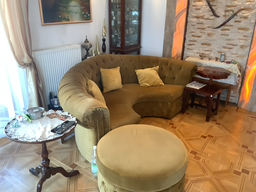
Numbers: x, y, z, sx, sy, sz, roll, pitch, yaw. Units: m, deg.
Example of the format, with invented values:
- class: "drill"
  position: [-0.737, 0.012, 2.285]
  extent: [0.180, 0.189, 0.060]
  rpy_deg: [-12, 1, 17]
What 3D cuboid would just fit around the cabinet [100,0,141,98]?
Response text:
- class: "cabinet"
  position: [-0.130, -1.030, 4.050]
  extent: [0.410, 1.980, 0.680]
  rpy_deg: [15, 26, 30]
